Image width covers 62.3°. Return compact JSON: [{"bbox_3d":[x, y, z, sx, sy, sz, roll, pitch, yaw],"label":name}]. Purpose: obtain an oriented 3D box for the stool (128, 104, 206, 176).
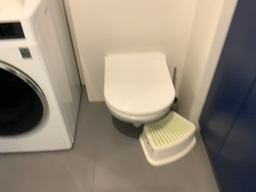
[{"bbox_3d":[0.230,0.250,1.310,0.370,0.130,0.280,-26,49,-24],"label":"stool"}]
